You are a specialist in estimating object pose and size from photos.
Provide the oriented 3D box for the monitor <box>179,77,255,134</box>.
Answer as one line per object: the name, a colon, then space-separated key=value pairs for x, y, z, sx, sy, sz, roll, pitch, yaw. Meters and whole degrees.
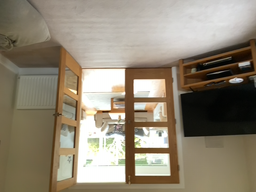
monitor: x=1.370 y=0.170 z=3.190 sx=1.220 sy=0.760 sz=0.070 roll=-9 pitch=163 yaw=36
